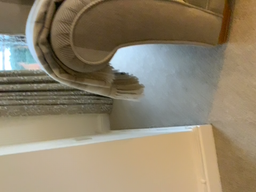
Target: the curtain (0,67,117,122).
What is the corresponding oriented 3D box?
[{"bbox_3d":[-1.170,0.000,1.600,0.180,2.240,0.410,-23,72,62],"label":"curtain"}]
